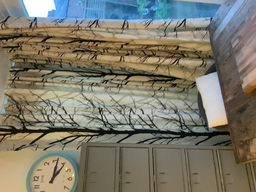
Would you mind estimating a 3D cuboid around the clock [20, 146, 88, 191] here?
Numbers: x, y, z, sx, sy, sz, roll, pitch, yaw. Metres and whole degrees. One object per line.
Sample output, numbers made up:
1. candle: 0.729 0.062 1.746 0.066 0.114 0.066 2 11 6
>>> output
1. clock: -0.500 0.580 1.460 0.120 0.400 0.430 105 167 -64
